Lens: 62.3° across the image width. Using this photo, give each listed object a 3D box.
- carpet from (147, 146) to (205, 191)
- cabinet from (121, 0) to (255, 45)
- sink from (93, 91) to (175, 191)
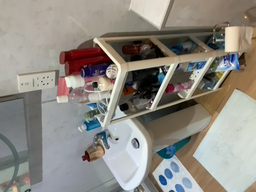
[{"bbox_3d":[0.540,0.980,2.090,0.850,0.030,0.530,50,137,32],"label":"carpet"},{"bbox_3d":[0.400,-0.450,1.070,0.220,0.850,0.260,51,137,32],"label":"cabinet"},{"bbox_3d":[-0.010,0.330,1.340,0.440,0.150,0.560,48,136,34],"label":"sink"}]
